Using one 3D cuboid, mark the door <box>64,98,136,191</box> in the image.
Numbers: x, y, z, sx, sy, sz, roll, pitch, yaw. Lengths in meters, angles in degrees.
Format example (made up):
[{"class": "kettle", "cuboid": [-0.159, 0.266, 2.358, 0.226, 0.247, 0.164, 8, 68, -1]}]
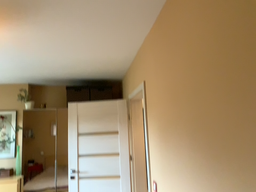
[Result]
[{"class": "door", "cuboid": [-0.370, 1.130, 2.800, 0.930, 2.150, 0.120, -3, -8, 6]}]
